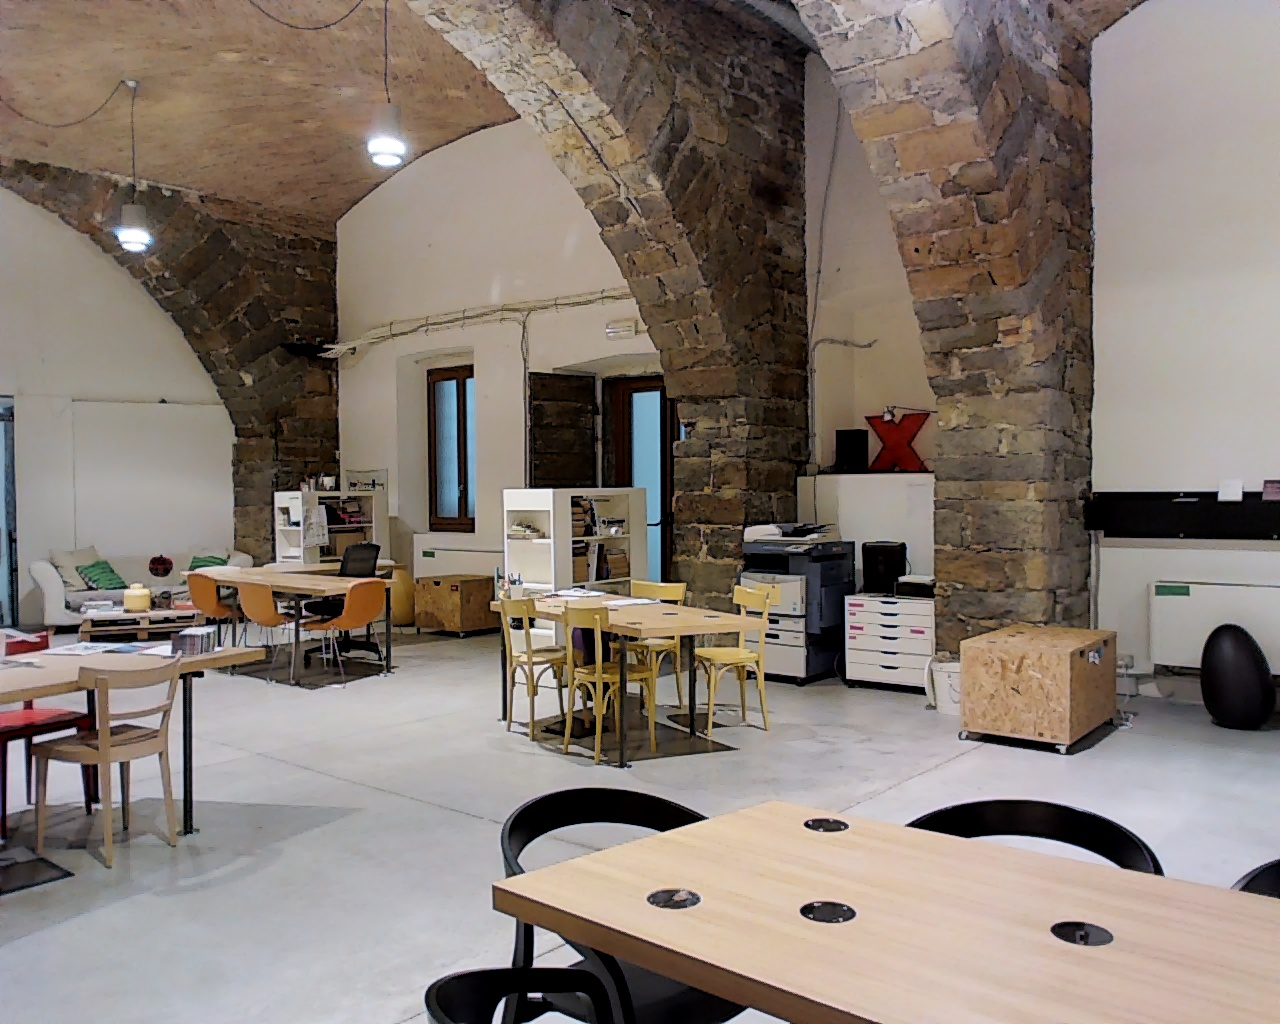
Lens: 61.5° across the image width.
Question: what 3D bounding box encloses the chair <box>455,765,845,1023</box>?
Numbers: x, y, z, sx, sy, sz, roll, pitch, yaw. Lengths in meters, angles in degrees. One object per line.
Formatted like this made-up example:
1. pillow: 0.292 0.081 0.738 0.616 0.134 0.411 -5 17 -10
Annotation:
1. chair: 0.020 1.010 2.250 0.580 0.760 0.570 -1 2 -42
